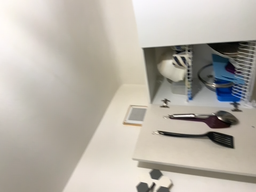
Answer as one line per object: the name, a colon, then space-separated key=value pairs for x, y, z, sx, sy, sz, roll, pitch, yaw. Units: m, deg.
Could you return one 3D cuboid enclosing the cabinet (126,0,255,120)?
cabinet: x=0.360 y=-0.310 z=1.050 sx=0.330 sy=0.590 sz=0.820 roll=-65 pitch=-29 yaw=-47
